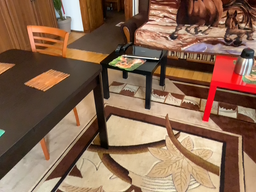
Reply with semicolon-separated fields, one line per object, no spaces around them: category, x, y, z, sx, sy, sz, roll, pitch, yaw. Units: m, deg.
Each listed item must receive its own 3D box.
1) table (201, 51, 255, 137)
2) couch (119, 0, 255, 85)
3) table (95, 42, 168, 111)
table;1.070;-0.050;2.020;0.550;0.450;0.680;14;38;20
couch;1.070;-0.940;2.830;2.160;0.980;0.960;14;38;21
table;0.060;-0.250;2.350;0.580;0.440;0.580;14;38;21
